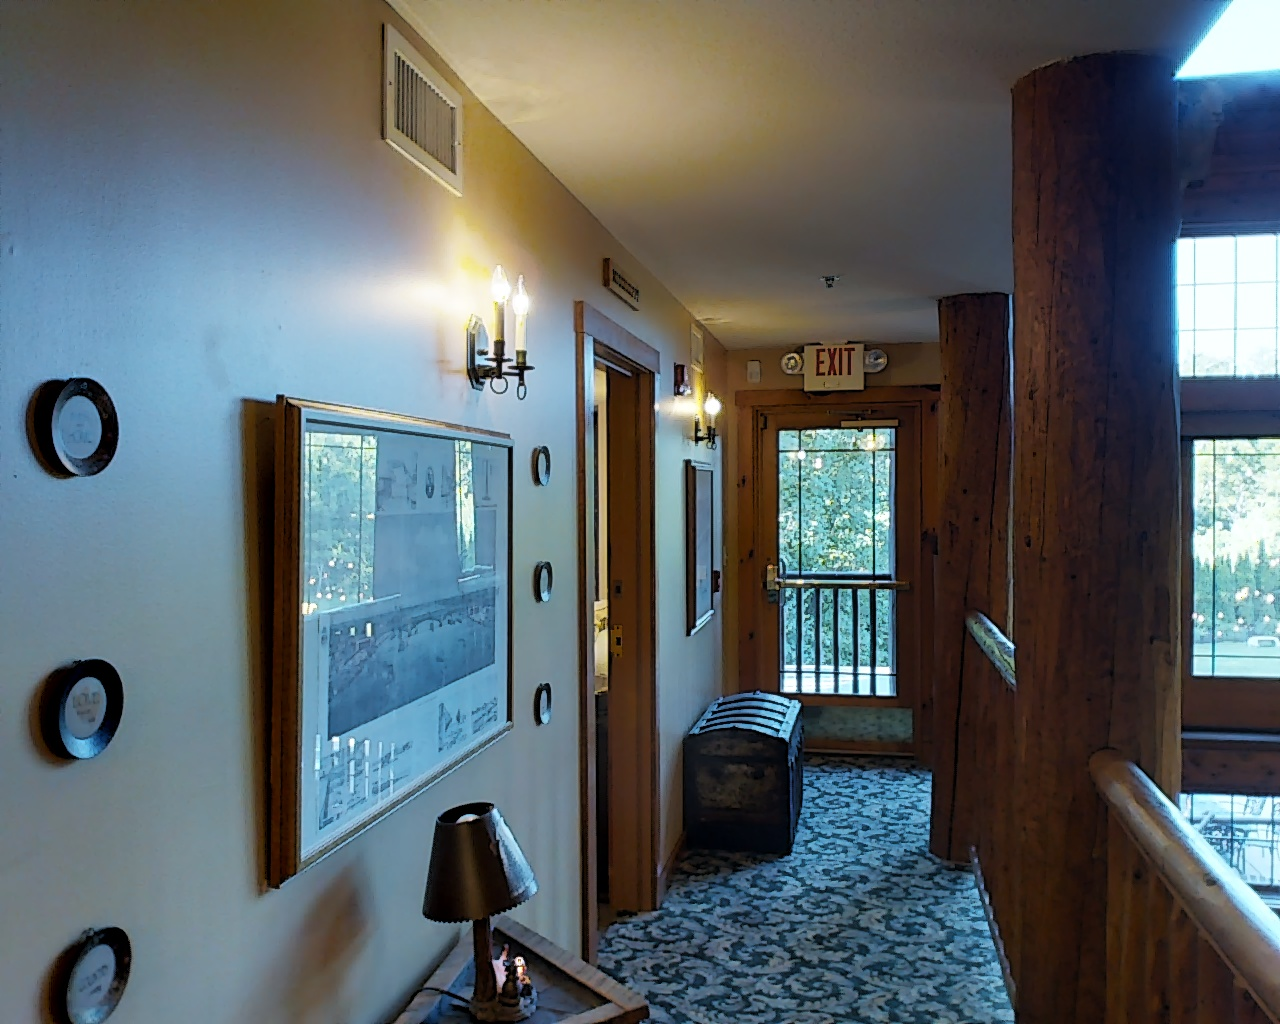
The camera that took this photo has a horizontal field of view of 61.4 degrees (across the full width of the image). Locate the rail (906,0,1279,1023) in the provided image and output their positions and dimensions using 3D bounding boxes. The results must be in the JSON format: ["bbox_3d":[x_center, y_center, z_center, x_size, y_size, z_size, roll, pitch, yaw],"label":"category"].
[{"bbox_3d":[1.090,0.280,2.690,0.520,2.761,7.560,0,1,12],"label":"rail"}]
